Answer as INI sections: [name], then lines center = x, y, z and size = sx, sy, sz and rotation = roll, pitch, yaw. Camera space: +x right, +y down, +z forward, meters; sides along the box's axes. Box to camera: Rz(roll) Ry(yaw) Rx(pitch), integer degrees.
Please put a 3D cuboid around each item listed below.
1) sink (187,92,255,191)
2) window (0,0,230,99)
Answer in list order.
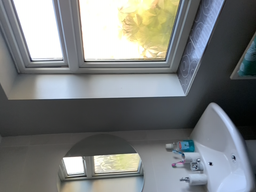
[sink]
center = 0.640, 0.360, 1.390
size = 0.470, 0.200, 0.610
rotation = 98, 169, -48
[window]
center = -0.190, -0.500, 1.100
size = 1.210, 1.310, 0.310
rotation = 98, 169, -49
